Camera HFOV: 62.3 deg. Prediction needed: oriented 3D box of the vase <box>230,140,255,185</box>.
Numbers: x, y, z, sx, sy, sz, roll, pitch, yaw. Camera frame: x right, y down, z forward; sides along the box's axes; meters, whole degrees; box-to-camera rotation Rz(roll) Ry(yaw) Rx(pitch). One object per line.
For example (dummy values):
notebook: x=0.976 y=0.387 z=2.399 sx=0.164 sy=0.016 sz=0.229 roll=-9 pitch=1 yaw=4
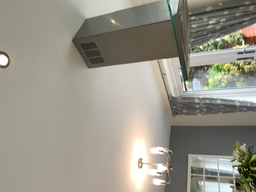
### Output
vase: x=1.440 y=0.720 z=2.280 sx=0.310 sy=0.590 sz=0.360 roll=66 pitch=-149 yaw=-42
